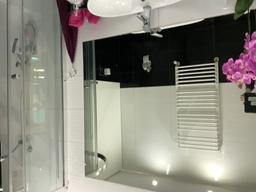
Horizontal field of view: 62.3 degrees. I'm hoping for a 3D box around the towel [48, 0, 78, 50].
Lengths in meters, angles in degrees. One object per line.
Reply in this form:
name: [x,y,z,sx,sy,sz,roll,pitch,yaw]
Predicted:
towel: [-0.480,-0.600,1.570,0.140,0.480,0.150,-1,180,29]
